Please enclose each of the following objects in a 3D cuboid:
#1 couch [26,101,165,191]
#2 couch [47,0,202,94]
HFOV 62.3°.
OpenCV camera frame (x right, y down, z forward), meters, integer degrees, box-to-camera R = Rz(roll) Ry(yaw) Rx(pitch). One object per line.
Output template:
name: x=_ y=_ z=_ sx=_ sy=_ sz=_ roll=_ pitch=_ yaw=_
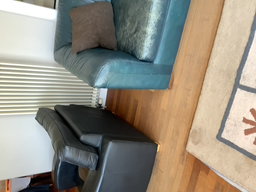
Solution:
couch: x=-0.370 y=0.640 z=2.010 sx=0.870 sy=0.890 sz=0.970 roll=27 pitch=111 yaw=51
couch: x=-0.010 y=-1.080 z=1.640 sx=1.030 sy=0.750 sz=1.890 roll=30 pitch=114 yaw=50
